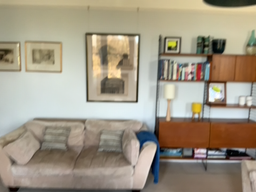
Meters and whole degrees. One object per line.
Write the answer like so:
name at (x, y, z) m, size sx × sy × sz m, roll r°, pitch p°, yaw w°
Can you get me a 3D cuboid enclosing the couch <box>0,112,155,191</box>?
couch at (-0.740, 0.780, 3.140) m, size 2.060 × 0.800 × 1.160 m, roll 2°, pitch 8°, yaw -2°
